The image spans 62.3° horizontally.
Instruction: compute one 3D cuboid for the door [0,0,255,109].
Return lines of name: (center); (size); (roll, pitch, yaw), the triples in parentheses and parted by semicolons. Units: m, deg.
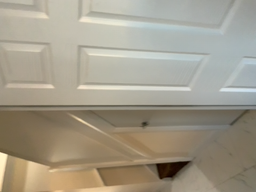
door: (0.350, -0.180, 1.030); (0.720, 1.950, 0.020); (105, 160, -45)
